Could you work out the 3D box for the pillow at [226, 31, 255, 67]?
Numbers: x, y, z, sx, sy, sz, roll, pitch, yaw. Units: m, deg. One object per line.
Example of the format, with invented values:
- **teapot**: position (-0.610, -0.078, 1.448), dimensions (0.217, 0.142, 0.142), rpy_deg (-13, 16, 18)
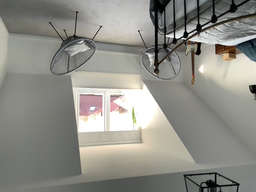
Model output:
- **pillow**: position (1.510, -0.560, 2.460), dimensions (0.150, 0.370, 0.580), rpy_deg (-51, -162, -15)
